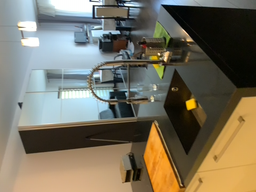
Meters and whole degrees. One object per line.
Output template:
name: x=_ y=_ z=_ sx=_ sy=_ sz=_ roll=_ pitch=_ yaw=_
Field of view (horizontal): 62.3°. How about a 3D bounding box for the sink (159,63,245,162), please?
sink: x=0.380 y=0.080 z=1.240 sx=0.450 sy=0.200 sz=0.350 roll=-107 pitch=19 yaw=-47
